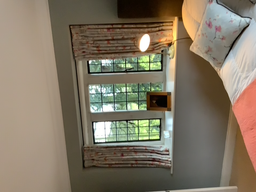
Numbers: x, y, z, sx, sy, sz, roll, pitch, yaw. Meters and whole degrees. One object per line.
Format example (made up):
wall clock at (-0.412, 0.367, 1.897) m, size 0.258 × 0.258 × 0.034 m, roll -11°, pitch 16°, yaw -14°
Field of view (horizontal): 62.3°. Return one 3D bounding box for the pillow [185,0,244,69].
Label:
pillow at (0.690, -0.530, 1.790) m, size 0.550 × 0.200 × 0.320 m, roll 93°, pitch 173°, yaw -57°
